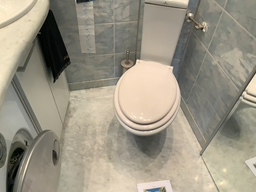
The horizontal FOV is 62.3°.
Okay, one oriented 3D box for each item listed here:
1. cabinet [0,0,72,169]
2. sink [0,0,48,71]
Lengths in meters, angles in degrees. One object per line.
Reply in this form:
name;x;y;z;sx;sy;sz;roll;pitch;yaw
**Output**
cabinet;-0.640;-0.070;1.230;0.470;0.830;0.600;-8;50;-11
sink;-0.620;-0.360;0.910;0.470;0.170;0.590;-7;50;-10
